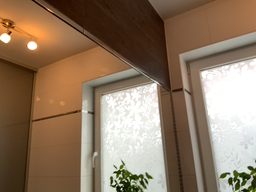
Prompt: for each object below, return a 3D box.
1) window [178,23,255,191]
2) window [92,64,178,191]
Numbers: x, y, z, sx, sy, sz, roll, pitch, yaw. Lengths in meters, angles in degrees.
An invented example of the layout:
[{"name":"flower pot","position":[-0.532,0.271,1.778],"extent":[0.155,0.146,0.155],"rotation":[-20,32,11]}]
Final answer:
[{"name":"window","position":[0.900,0.360,1.360],"extent":[0.930,1.720,0.210],"rotation":[-14,-20,32]},{"name":"window","position":[0.020,0.490,1.960],"extent":[0.770,1.460,0.140],"rotation":[-11,-19,27]}]
